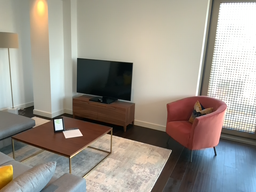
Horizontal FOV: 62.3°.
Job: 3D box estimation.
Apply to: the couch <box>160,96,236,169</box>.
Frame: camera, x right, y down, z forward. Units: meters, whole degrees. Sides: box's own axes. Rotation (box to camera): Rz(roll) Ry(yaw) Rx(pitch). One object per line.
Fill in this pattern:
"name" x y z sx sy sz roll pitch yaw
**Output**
"couch" 1.030 0.510 3.320 0.680 0.810 0.820 -2 15 -20
